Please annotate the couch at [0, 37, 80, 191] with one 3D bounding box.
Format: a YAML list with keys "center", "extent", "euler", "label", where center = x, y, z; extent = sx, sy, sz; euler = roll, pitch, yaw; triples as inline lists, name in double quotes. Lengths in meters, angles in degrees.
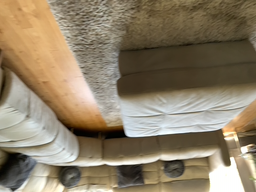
- center: [-1.300, 0.530, 1.990]
  extent: [1.200, 1.030, 1.840]
  euler: [-6, 155, 1]
  label: "couch"

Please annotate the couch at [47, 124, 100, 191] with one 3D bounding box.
- center: [-0.880, 1.030, 3.320]
  extent: [0.310, 0.850, 1.100]
  euler: [16, 148, -37]
  label: "couch"

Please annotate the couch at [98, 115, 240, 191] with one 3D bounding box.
- center: [0.530, 1.050, 3.430]
  extent: [1.830, 1.020, 0.990]
  euler: [-6, 155, 1]
  label: "couch"

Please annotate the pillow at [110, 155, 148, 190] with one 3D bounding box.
- center: [0.010, 1.250, 3.480]
  extent: [0.520, 0.330, 0.170]
  euler: [-24, 157, -9]
  label: "pillow"

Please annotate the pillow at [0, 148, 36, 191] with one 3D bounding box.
- center: [-1.250, 0.840, 2.350]
  extent: [0.220, 0.380, 0.450]
  euler: [-18, 156, -10]
  label: "pillow"
